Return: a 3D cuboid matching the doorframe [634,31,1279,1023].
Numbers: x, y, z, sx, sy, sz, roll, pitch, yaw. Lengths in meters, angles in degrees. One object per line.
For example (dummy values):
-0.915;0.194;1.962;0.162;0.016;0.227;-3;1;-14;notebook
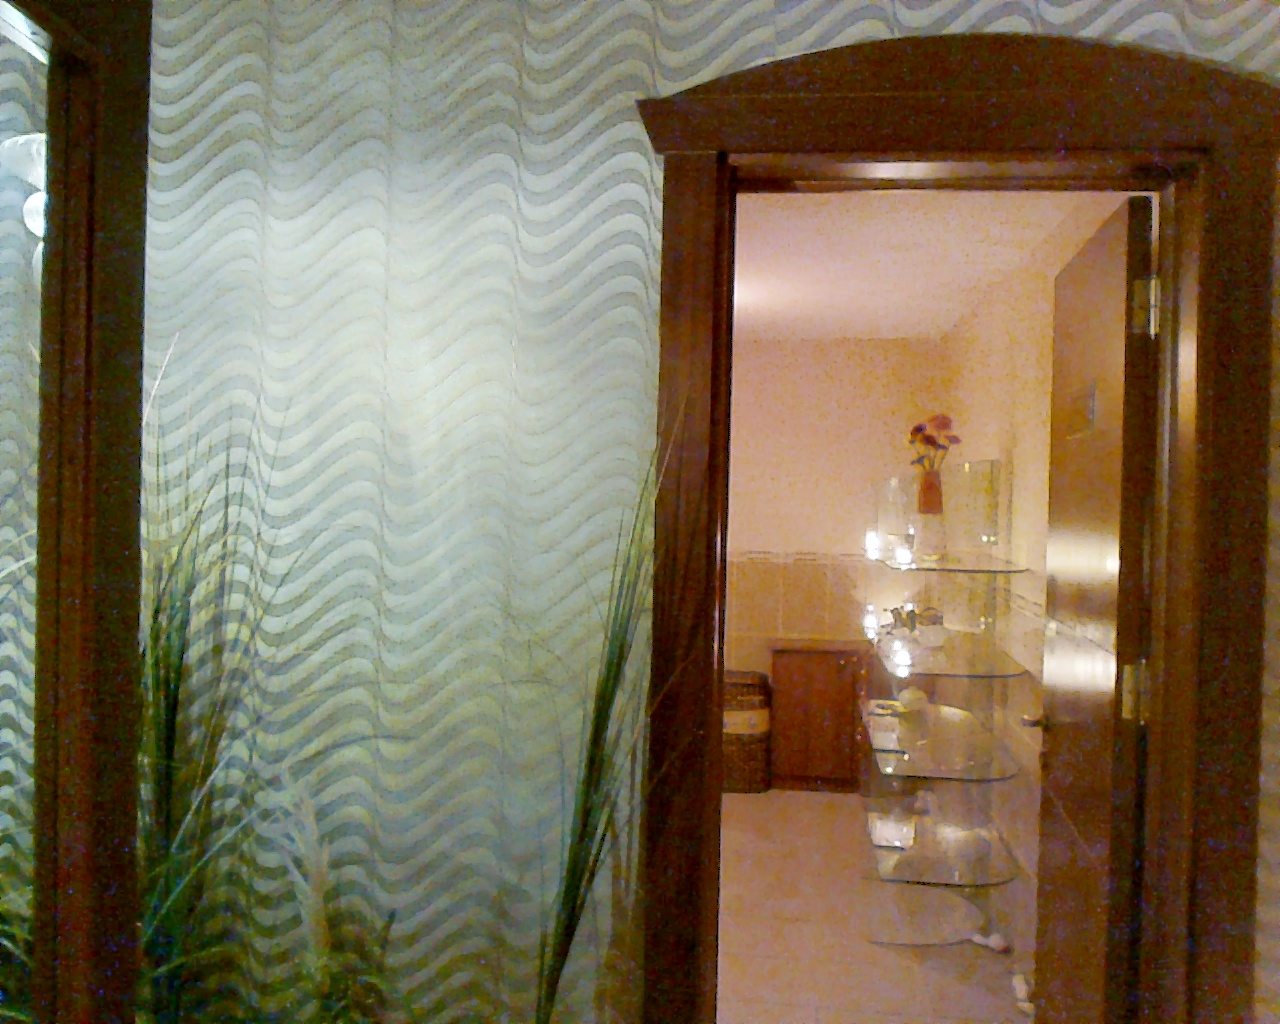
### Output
0.550;0.410;1.880;1.090;2.381;0.170;1;1;7;doorframe
